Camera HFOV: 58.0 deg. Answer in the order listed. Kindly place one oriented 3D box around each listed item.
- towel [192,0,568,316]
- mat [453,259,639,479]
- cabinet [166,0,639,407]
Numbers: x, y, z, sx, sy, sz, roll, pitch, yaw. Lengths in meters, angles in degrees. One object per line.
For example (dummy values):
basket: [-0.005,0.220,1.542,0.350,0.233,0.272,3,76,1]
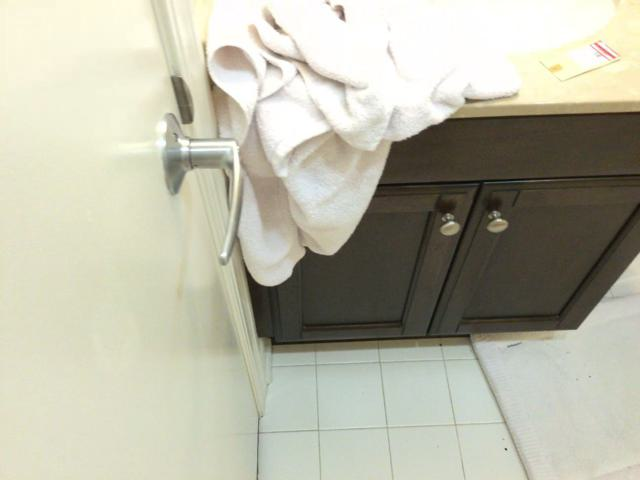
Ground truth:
towel: [0.060,-0.190,0.860,0.360,0.450,0.420,-3,54,1]
mat: [0.650,0.300,1.310,0.540,0.080,0.480,-12,54,-5]
cabinet: [0.230,-0.180,1.110,0.730,0.940,0.650,-3,54,1]
